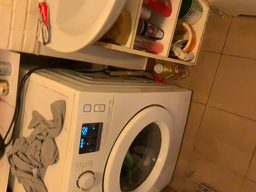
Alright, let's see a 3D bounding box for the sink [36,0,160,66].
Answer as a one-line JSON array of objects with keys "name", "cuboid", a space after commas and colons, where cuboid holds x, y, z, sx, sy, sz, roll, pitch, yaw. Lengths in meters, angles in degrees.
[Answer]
[{"name": "sink", "cuboid": [-0.100, -0.390, 0.740, 0.390, 0.200, 0.490, 19, 102, 37]}]
